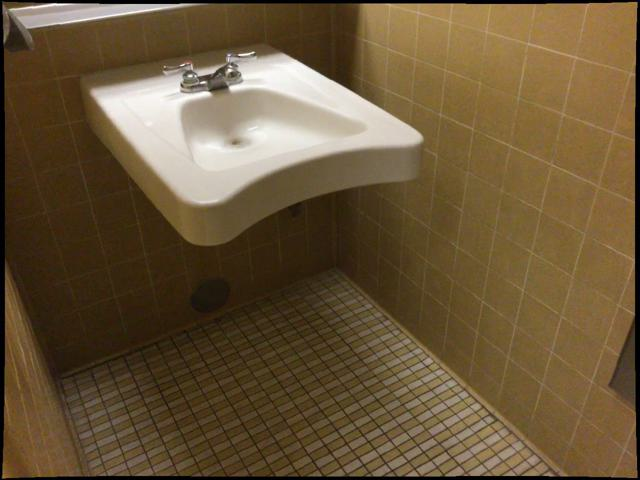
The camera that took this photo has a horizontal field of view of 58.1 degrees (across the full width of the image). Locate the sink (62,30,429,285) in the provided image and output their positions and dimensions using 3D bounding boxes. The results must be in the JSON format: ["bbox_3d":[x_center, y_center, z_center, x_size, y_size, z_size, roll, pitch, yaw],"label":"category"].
[{"bbox_3d":[-0.199,-0.251,1.280,0.529,0.190,0.700,-21,39,-25],"label":"sink"}]
